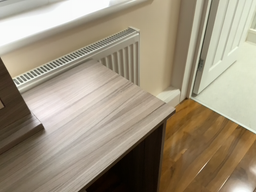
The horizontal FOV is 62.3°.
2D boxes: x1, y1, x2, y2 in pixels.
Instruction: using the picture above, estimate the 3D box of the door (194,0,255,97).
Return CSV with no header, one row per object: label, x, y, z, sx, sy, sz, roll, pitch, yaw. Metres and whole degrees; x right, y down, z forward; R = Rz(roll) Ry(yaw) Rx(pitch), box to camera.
door,0.890,-0.970,1.460,0.060,2.000,0.870,31,51,32
